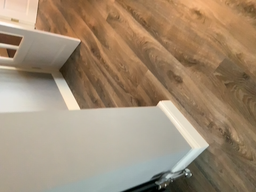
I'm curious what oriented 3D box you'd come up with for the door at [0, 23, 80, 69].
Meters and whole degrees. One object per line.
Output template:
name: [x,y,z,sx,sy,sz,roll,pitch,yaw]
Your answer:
door: [-1.380,-0.470,1.710,0.500,1.960,0.070,-32,67,41]
